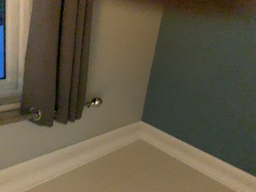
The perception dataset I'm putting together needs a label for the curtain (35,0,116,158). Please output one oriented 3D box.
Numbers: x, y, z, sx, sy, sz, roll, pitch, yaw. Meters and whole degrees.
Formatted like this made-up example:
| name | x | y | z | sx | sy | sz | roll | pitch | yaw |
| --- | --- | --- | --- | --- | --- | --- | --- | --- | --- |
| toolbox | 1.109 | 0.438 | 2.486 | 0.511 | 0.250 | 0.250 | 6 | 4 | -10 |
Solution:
| name | x | y | z | sx | sy | sz | roll | pitch | yaw |
| --- | --- | --- | --- | --- | --- | --- | --- | --- | --- |
| curtain | -0.170 | -0.510 | 0.800 | 0.150 | 1.550 | 0.250 | 22 | -159 | 35 |
